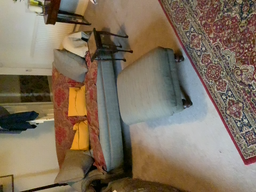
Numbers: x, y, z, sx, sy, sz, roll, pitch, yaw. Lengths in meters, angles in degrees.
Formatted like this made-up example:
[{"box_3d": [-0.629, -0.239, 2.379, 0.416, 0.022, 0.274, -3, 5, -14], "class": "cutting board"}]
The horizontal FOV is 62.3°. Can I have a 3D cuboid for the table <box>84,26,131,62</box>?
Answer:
[{"box_3d": [-0.260, -0.630, 2.640, 0.300, 0.450, 0.270, -40, 58, 52], "class": "table"}]

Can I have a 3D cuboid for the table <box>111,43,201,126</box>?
[{"box_3d": [0.210, -0.060, 1.980, 0.720, 0.390, 0.560, -25, 70, 56], "class": "table"}]
